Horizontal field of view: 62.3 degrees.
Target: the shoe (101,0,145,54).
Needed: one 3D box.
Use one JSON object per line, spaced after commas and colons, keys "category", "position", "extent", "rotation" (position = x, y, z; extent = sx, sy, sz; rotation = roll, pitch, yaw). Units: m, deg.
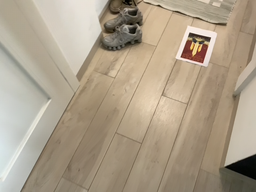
{"category": "shoe", "position": [-0.020, -0.610, 1.530], "extent": [0.280, 0.110, 0.660], "rotation": [0, 65, 4]}
